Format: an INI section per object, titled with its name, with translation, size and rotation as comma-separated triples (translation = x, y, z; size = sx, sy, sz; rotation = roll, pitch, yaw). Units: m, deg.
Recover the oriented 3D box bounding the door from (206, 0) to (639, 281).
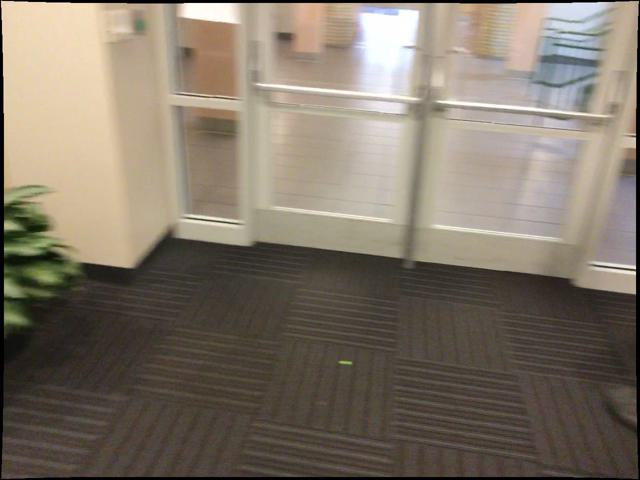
[door]
translation = 0.499, -0.922, 2.620
size = 1.955, 2.194, 0.390
rotation = 5, 30, 9
